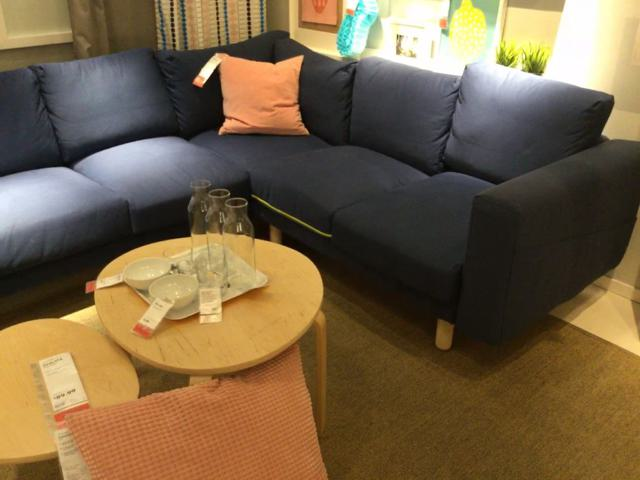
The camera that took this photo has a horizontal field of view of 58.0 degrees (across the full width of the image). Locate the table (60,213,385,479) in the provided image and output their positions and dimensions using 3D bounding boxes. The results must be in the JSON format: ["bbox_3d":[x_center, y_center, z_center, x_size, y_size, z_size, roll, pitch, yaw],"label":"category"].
[{"bbox_3d":[-0.310,0.300,1.770,0.640,0.460,0.730,-16,30,-39],"label":"table"}]
